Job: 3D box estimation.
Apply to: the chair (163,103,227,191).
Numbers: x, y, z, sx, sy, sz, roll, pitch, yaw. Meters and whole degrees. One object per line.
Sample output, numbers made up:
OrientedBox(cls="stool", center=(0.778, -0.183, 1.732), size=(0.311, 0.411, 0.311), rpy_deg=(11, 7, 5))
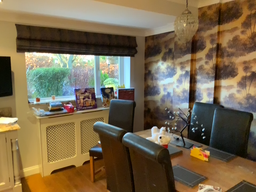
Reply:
OrientedBox(cls="chair", center=(0.890, 0.690, 2.850), size=(0.660, 1.080, 0.480), rpy_deg=(-6, 11, -39))

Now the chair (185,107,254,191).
OrientedBox(cls="chair", center=(1.010, 0.740, 2.370), size=(0.560, 1.110, 0.430), rpy_deg=(-6, 11, -39))

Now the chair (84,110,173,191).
OrientedBox(cls="chair", center=(0.010, 0.770, 2.050), size=(0.690, 1.130, 0.470), rpy_deg=(-7, 11, -40))

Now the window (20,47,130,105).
OrientedBox(cls="window", center=(-0.810, -0.380, 3.820), size=(1.980, 0.870, 0.160), rpy_deg=(-6, 11, -35))

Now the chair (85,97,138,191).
OrientedBox(cls="chair", center=(-0.210, 0.630, 3.000), size=(0.480, 1.130, 0.630), rpy_deg=(5, 10, 26))
